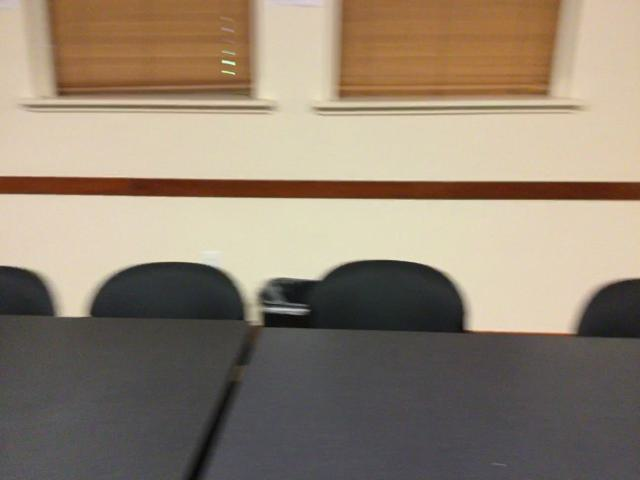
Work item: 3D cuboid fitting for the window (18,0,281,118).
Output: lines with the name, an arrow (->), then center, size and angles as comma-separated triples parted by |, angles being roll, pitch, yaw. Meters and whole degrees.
window -> -0.670, -0.770, 2.360 | 0.990, 0.510, 0.230 | 2, 16, 5

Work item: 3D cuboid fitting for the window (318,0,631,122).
window -> 0.560, -0.740, 2.270 | 1.120, 0.510, 0.240 | 2, 16, 5
